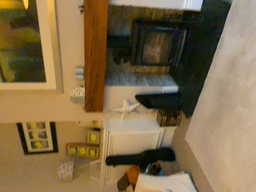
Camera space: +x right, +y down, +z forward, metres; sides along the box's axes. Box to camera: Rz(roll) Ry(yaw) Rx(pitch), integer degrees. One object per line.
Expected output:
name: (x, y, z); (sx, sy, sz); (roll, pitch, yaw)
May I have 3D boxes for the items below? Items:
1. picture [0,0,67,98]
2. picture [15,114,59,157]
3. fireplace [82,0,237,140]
picture: (-1.060, -0.460, 1.980); (0.050, 0.880, 1.110); (-108, 21, -55)
picture: (-1.340, 0.620, 3.210); (0.050, 0.510, 0.840); (-106, 20, -52)
fireplace: (0.120, -0.440, 2.240); (0.890, 1.170, 1.550); (-108, 21, -54)
